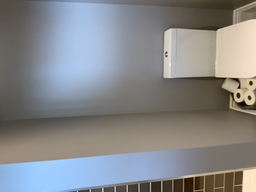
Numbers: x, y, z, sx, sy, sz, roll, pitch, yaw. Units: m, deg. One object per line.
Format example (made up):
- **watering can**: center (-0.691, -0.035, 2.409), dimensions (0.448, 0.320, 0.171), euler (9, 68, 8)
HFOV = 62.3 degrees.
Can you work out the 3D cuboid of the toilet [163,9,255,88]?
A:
- **toilet**: center (0.720, -0.290, 1.450), dimensions (0.610, 0.780, 0.390), euler (-145, 54, -76)
